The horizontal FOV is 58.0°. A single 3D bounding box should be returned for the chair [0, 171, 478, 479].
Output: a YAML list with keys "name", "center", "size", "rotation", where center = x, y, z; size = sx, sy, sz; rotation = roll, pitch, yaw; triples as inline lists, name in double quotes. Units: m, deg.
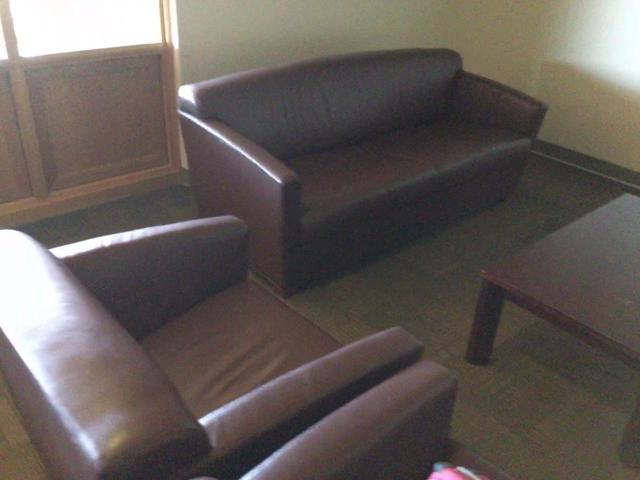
- name: "chair"
  center: [-0.280, 0.350, 1.340]
  size: [0.830, 0.760, 0.800]
  rotation: [-13, 27, -37]
